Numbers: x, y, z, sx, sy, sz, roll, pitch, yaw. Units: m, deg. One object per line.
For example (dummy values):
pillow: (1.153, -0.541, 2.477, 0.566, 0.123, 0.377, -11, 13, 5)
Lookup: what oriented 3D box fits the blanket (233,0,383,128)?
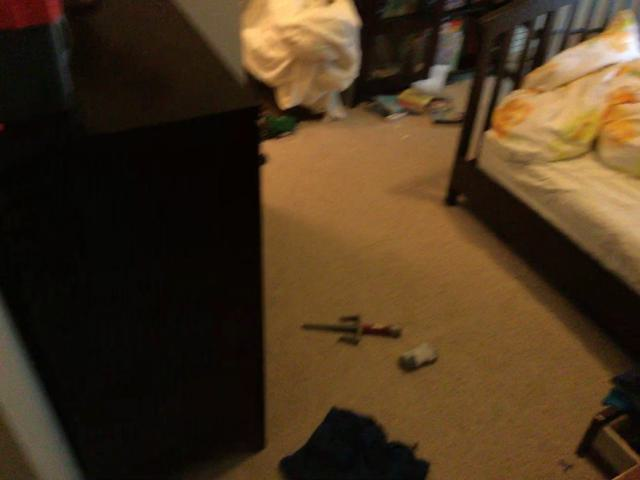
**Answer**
blanket: (-0.070, -0.960, 2.780, 0.490, 0.490, 0.620, -18, 46, -15)
